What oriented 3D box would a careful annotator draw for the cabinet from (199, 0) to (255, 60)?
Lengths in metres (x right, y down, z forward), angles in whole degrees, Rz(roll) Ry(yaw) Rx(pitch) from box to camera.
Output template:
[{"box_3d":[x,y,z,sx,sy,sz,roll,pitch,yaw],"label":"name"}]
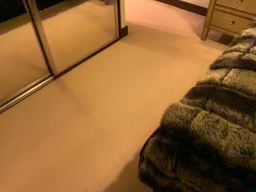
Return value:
[{"box_3d":[1.010,-0.740,1.860,0.450,0.530,0.510,32,54,28],"label":"cabinet"}]
